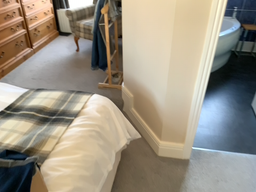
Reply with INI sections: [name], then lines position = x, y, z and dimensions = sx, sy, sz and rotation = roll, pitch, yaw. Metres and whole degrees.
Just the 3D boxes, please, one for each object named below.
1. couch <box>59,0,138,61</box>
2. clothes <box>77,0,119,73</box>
[couch]
position = -0.420, -1.240, 3.260
dimensions = 0.800, 0.980, 0.840
rotation = 21, 39, 27
[clothes]
position = -0.290, -0.820, 2.280
dimensions = 0.300, 0.990, 0.530
rotation = 4, 35, 5
